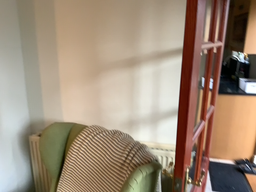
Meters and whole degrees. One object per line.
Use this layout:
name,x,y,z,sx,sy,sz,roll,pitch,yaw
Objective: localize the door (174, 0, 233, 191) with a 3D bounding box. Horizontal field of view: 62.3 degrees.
door,0.400,0.270,1.150,0.090,2.020,0.810,8,17,25
